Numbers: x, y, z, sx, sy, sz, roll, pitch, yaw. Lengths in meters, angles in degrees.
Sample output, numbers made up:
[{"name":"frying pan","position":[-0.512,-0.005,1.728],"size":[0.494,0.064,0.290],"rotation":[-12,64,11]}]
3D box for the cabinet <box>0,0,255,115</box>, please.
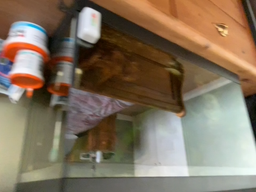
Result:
[{"name":"cabinet","position":[-0.020,-0.500,0.870],"size":[1.160,0.900,0.480],"rotation":[14,152,-35]}]
